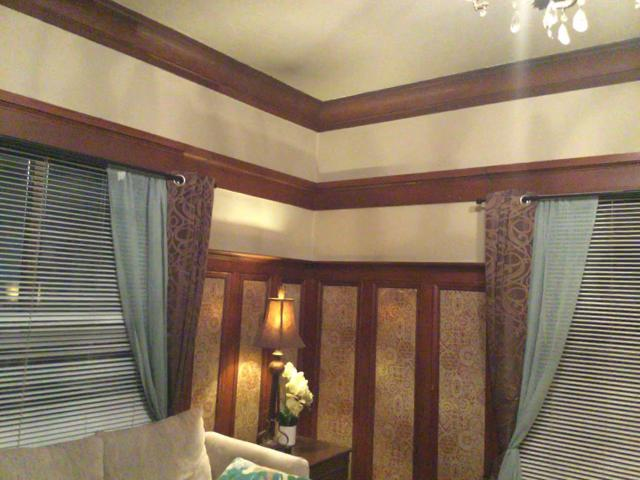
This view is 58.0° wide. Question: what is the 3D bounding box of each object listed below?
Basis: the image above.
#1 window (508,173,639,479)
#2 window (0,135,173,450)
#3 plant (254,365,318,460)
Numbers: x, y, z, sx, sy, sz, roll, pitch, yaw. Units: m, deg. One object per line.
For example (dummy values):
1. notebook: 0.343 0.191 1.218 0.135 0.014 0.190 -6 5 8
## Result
1. window: 1.490 0.440 2.530 1.230 1.490 0.140 -6 -12 35
2. window: -1.140 0.230 2.450 0.150 1.190 1.100 -6 -12 35
3. plant: -0.190 0.960 3.270 0.290 0.480 0.190 -6 -12 35
